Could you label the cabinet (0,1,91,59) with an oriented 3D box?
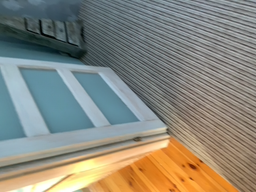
[{"bbox_3d":[-0.870,-0.620,2.050,0.350,0.910,0.330,39,118,39],"label":"cabinet"}]
